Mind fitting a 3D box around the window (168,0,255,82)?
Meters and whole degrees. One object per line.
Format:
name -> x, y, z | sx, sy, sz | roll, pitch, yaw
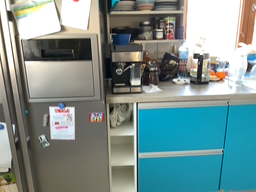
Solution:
window -> 1.150, -1.060, 1.990 | 1.420, 1.790, 0.350 | -1, 16, -1
